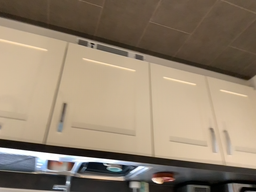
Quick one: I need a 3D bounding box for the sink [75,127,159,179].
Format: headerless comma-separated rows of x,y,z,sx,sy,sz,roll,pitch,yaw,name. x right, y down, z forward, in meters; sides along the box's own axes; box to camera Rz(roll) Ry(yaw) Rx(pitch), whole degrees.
-0.100,0.420,1.460,0.430,0.190,0.490,11,148,-16,sink

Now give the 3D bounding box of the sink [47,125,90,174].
-0.390,0.360,1.360,0.200,0.190,0.400,11,148,-16,sink
